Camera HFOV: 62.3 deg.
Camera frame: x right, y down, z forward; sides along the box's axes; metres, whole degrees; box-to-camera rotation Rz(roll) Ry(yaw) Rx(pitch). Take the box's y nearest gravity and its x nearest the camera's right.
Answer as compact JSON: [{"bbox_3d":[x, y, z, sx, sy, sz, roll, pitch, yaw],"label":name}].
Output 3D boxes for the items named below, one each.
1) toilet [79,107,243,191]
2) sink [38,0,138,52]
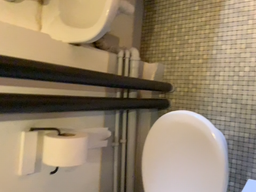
[{"bbox_3d":[0.210,0.400,0.930,0.370,0.780,0.660,4,91,37],"label":"toilet"},{"bbox_3d":[-0.170,-0.470,0.890,0.410,0.170,0.520,6,92,37],"label":"sink"}]
